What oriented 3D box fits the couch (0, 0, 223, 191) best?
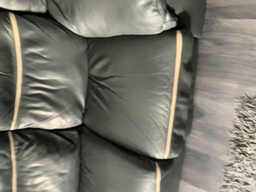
[{"bbox_3d":[-0.300,0.510,1.300,1.030,0.960,2.410,15,107,35],"label":"couch"}]
